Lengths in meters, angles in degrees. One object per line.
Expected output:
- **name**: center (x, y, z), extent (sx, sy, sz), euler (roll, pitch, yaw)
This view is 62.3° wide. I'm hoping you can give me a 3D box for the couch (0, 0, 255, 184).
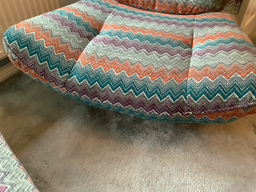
- **couch**: center (0.100, -0.380, 0.840), extent (0.860, 0.860, 0.870), euler (13, 44, 10)
